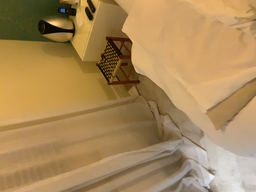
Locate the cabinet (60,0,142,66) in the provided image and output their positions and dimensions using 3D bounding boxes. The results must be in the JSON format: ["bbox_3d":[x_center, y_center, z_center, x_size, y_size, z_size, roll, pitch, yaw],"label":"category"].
[{"bbox_3d":[-0.320,-0.750,2.220,0.600,0.480,0.610,55,134,32],"label":"cabinet"}]

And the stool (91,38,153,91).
[{"bbox_3d":[-0.070,-0.300,2.040,0.330,0.390,0.350,57,136,29],"label":"stool"}]

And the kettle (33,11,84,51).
[{"bbox_3d":[-0.720,-0.660,2.190,0.290,0.390,0.240,56,135,30],"label":"kettle"}]
